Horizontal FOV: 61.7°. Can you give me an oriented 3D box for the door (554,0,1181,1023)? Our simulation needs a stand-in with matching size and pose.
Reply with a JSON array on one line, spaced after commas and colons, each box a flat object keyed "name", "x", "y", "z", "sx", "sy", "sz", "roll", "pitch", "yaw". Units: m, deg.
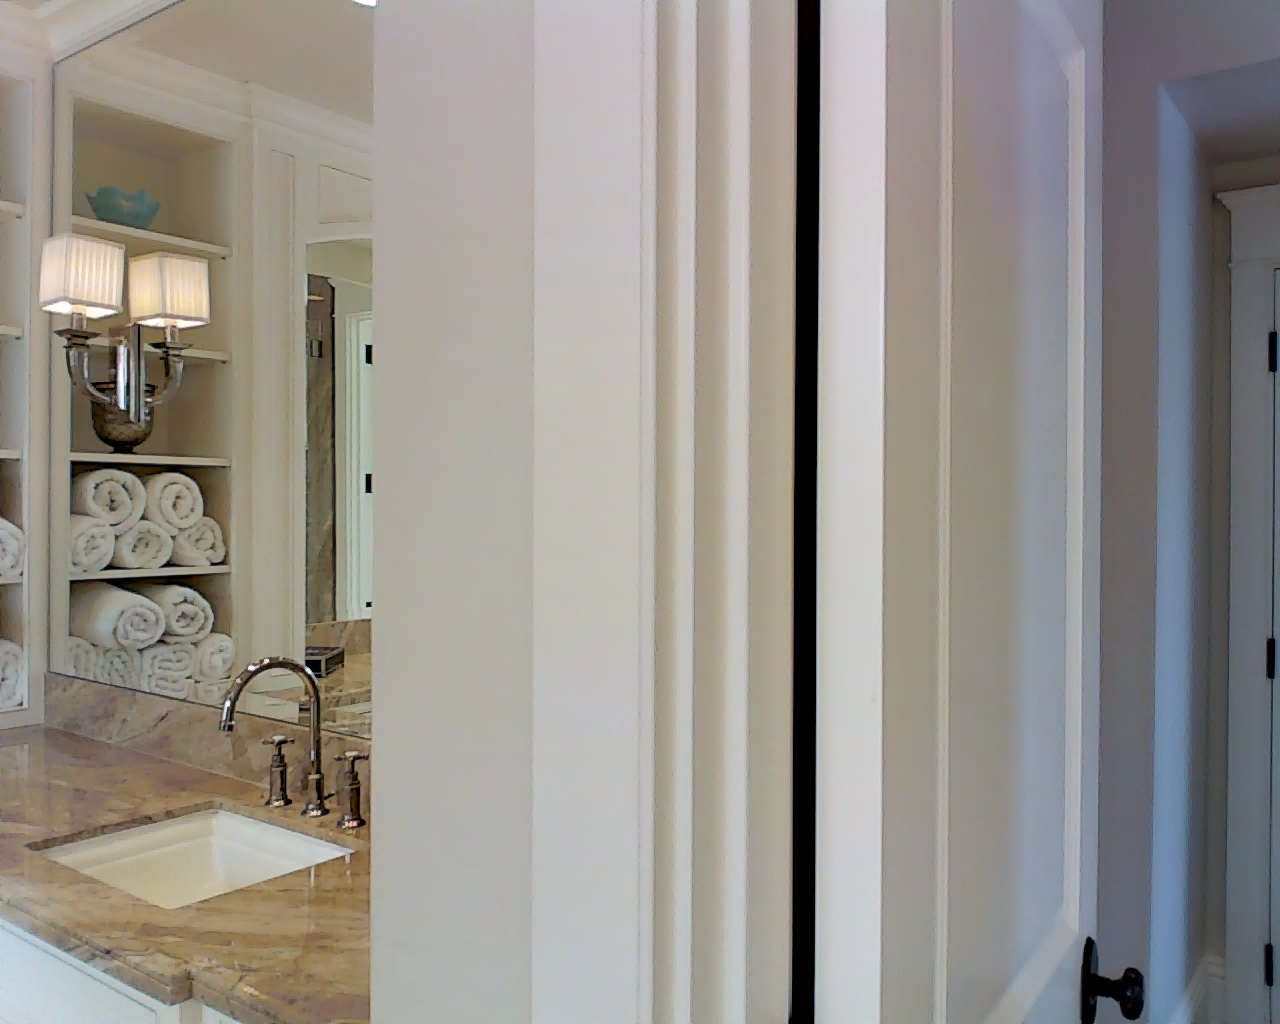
[{"name": "door", "x": 0.300, "y": 0.400, "z": 1.000, "sx": 0.170, "sy": 2.131, "sz": 0.940, "roll": 1, "pitch": 1, "yaw": 38}]
